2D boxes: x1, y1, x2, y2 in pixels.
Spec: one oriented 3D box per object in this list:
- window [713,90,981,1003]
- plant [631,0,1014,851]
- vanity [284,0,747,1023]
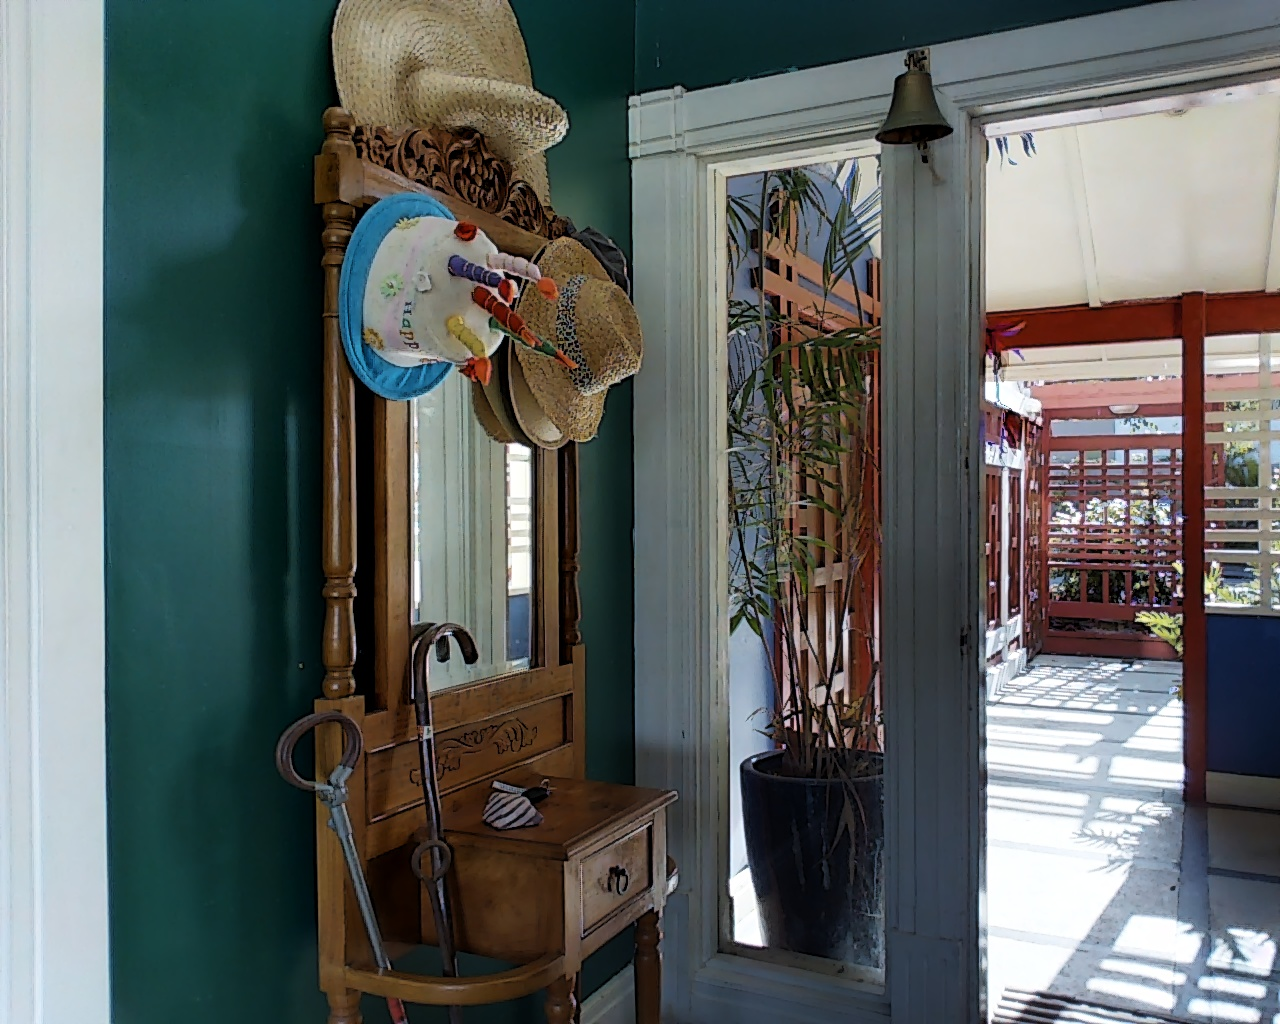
[{"bbox_3d":[0.480,0.080,2.560,0.620,2.021,0.080,0,1,28],"label":"window"},{"bbox_3d":[0.500,-0.220,2.840,0.830,1.931,0.640,0,1,28],"label":"plant"},{"bbox_3d":[-0.150,0.140,1.840,0.360,2.141,0.840,0,1,28],"label":"vanity"}]
